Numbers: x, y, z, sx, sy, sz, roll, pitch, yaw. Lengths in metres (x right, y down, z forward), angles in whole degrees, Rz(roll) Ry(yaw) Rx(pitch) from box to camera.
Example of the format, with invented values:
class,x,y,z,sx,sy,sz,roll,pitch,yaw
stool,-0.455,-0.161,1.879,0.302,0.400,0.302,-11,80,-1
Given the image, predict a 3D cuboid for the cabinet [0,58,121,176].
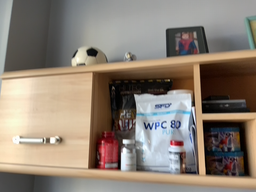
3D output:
class,x,y,z,sx,sy,sz,roll,pitch,yaw
cabinet,-0.270,0.090,0.870,0.410,0.380,0.270,-2,-11,16
